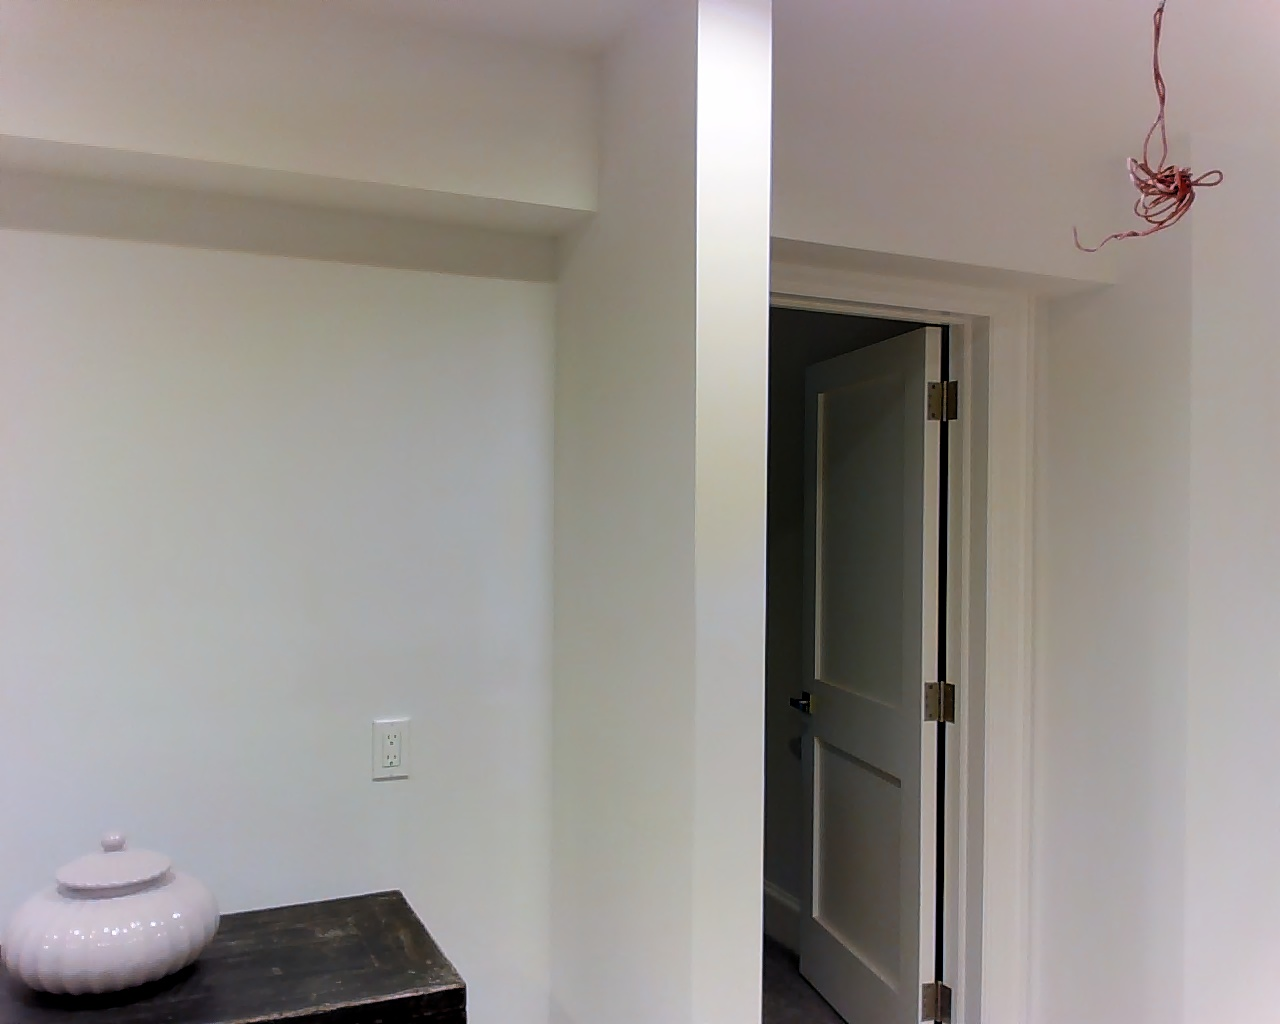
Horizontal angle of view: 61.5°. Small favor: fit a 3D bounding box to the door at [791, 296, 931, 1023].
[{"bbox_3d":[0.650,0.490,3.290,0.060,2.140,0.810,1,0,-14],"label":"door"}]
